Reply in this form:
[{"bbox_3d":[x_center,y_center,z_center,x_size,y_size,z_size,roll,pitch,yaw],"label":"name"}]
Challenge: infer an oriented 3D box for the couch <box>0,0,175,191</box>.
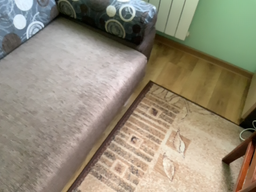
[{"bbox_3d":[-0.670,0.090,0.780,0.930,0.880,2.010,27,56,13],"label":"couch"}]
